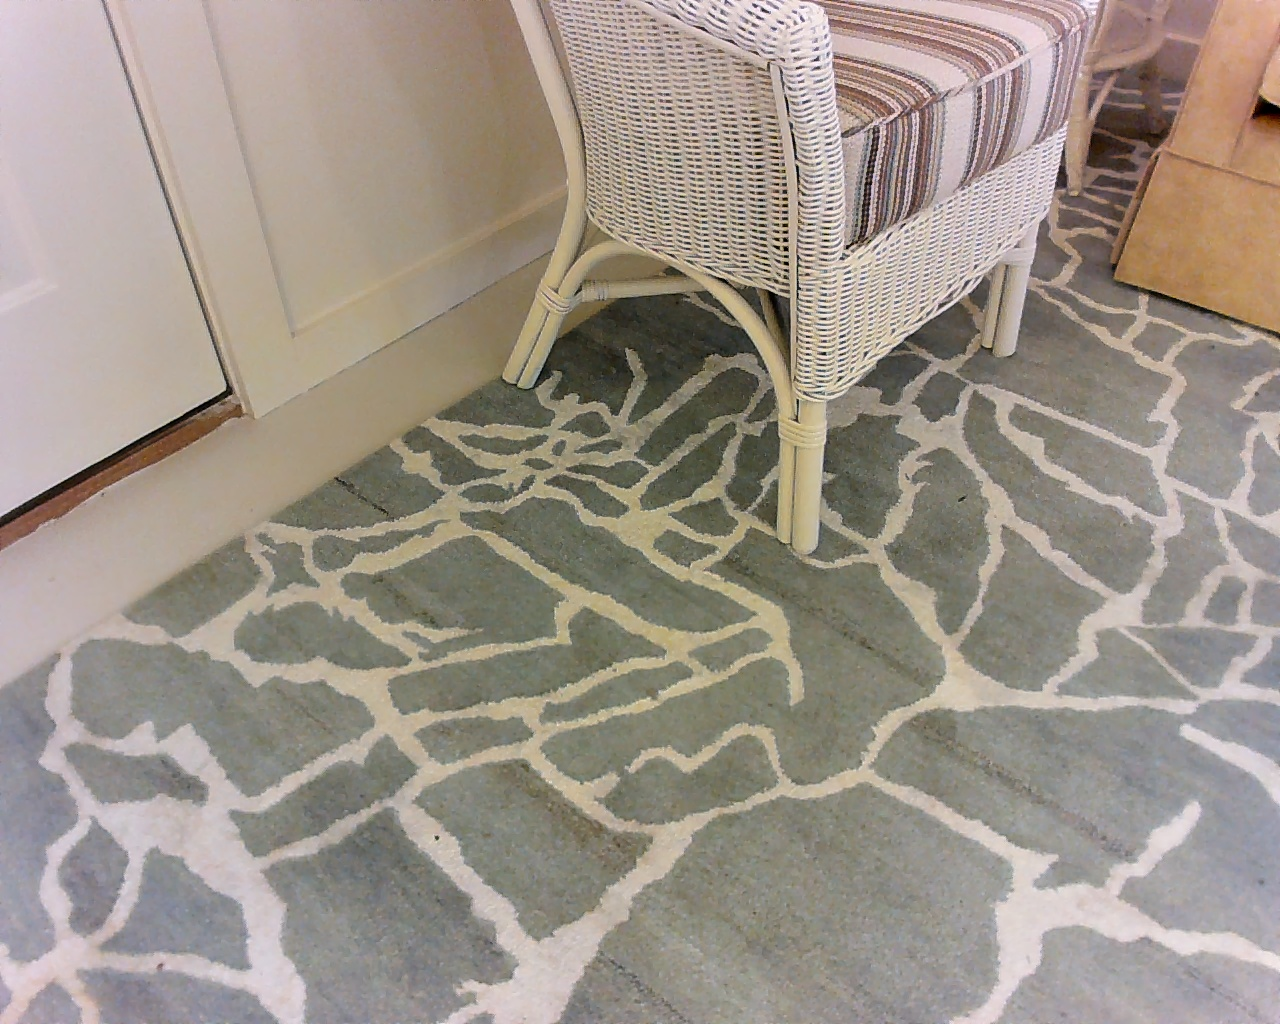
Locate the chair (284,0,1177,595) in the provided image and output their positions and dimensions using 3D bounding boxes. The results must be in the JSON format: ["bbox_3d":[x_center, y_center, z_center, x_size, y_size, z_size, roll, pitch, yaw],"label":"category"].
[{"bbox_3d":[0.120,-0.630,1.310,0.800,0.970,0.750,30,51,29],"label":"chair"}]
